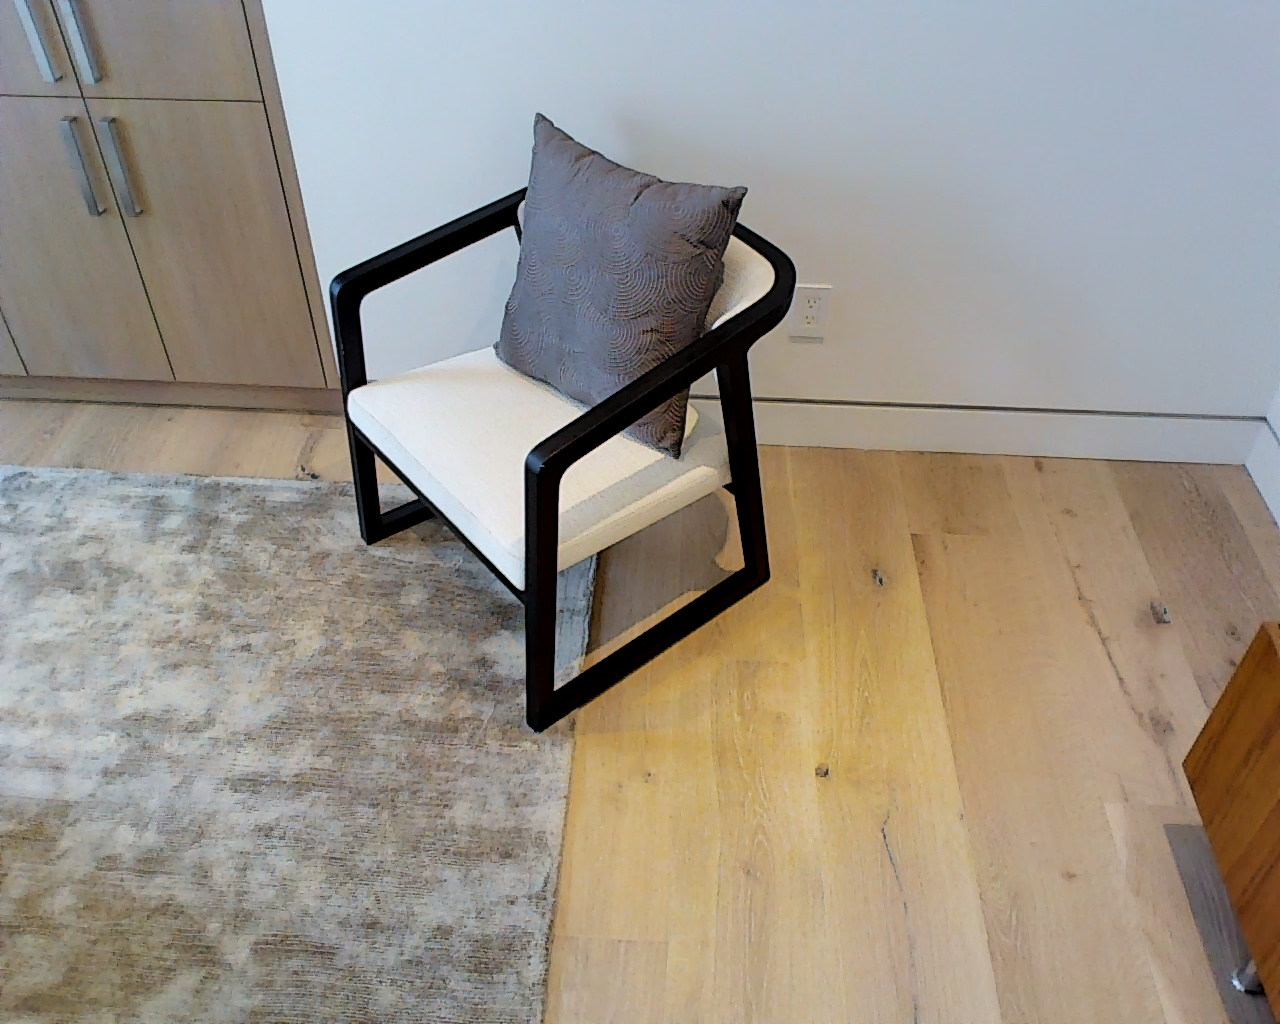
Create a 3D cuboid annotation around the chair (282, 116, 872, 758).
[{"bbox_3d":[-0.110,-0.170,2.000,0.680,0.760,0.680,-31,50,-30],"label":"chair"}]
